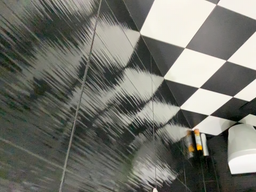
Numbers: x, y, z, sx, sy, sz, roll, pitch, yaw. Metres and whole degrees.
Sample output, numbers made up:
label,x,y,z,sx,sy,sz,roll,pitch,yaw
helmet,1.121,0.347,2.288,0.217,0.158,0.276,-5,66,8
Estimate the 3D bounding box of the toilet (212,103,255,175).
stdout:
label,x,y,z,sx,sy,sz,roll,pitch,yaw
toilet,1.070,0.430,2.020,0.350,0.470,0.520,-14,141,22
